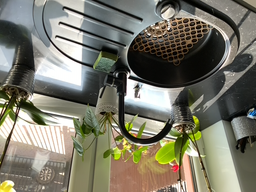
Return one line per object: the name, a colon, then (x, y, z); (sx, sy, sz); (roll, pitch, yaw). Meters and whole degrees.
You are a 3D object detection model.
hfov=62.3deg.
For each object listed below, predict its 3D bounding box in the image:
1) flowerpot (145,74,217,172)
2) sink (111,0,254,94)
flowerpot: (0.280, 0.160, 1.240); (0.230, 0.470, 0.260); (17, 143, -25)
sink: (0.190, -0.220, 0.880); (0.390, 0.150, 0.400); (15, 144, -22)
